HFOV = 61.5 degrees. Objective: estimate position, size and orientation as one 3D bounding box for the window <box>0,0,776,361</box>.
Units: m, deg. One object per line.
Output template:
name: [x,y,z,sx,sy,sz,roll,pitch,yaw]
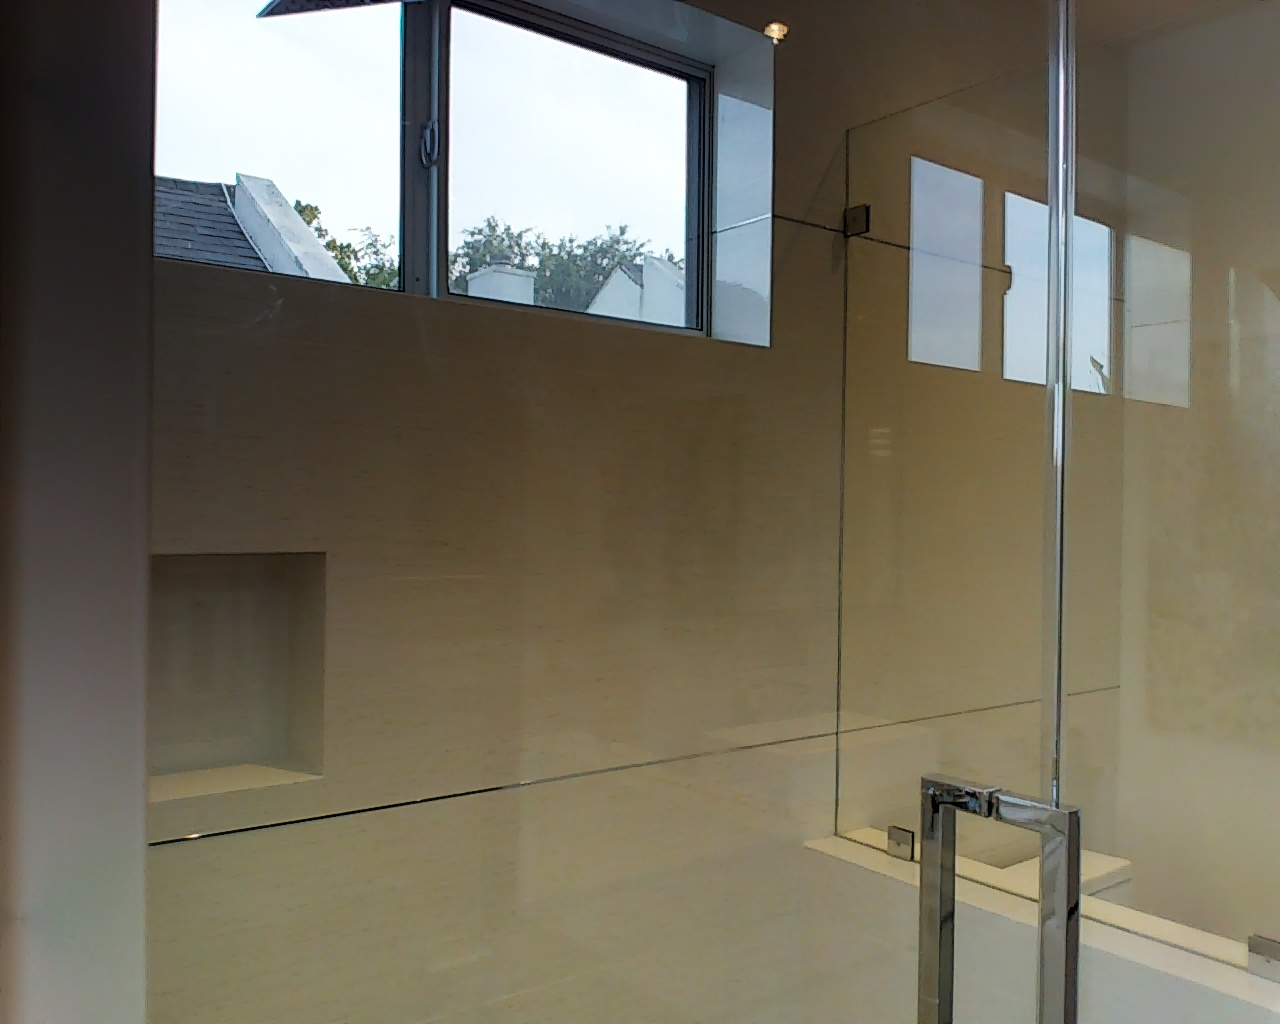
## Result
window: [-0.370,-0.630,1.630,1.350,0.650,0.250,1,0,-37]
